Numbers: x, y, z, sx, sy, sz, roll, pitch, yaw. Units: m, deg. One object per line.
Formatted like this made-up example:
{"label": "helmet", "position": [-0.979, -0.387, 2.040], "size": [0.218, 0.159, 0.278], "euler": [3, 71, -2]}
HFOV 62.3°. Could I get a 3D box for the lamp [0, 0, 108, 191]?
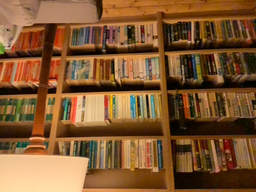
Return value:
{"label": "lamp", "position": [-0.370, -0.150, 1.090], "size": [0.430, 1.520, 0.440], "euler": [0, 158, 1]}
